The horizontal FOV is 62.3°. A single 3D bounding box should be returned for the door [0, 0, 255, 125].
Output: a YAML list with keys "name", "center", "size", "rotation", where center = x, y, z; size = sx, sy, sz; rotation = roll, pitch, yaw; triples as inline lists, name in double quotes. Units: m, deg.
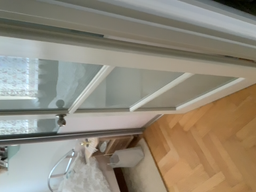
- name: "door"
  center: [-0.150, -0.070, 1.120]
  size: [0.790, 2.080, 0.160]
  rotation: [-42, 54, 52]
